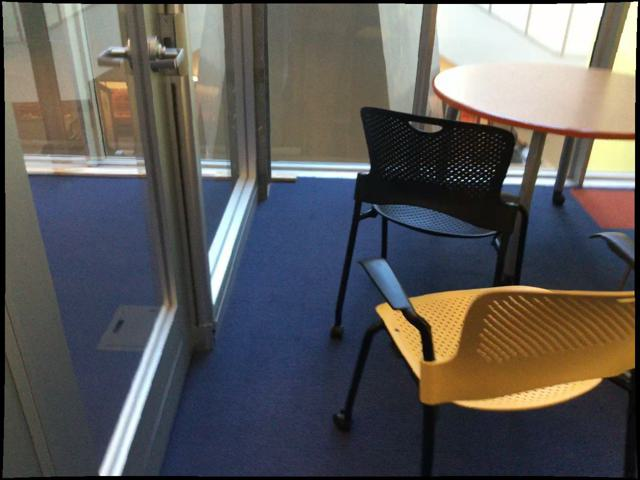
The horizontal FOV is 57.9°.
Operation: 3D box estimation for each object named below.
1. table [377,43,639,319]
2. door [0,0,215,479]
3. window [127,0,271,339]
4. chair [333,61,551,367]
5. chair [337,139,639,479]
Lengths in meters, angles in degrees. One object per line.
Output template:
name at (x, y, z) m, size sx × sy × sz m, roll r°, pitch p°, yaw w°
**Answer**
table at (0.989, -0.350, 2.460) m, size 1.119 × 0.681 × 1.070 m, roll -8°, pitch 32°, yaw -16°
door at (-0.400, 0.050, 1.280) m, size 0.140 × 1.121 × 0.870 m, roll 1°, pitch 31°, yaw -1°
window at (-0.360, -0.490, 2.200) m, size 0.200 × 1.121 × 1.310 m, roll 2°, pitch 31°, yaw 0°
chair at (0.370, -0.100, 1.820) m, size 0.490 × 0.751 × 0.470 m, roll 13°, pitch 33°, yaw 17°
chair at (0.400, 0.260, 1.270) m, size 0.629 × 0.791 × 0.590 m, roll -1°, pitch 31°, yaw -5°
